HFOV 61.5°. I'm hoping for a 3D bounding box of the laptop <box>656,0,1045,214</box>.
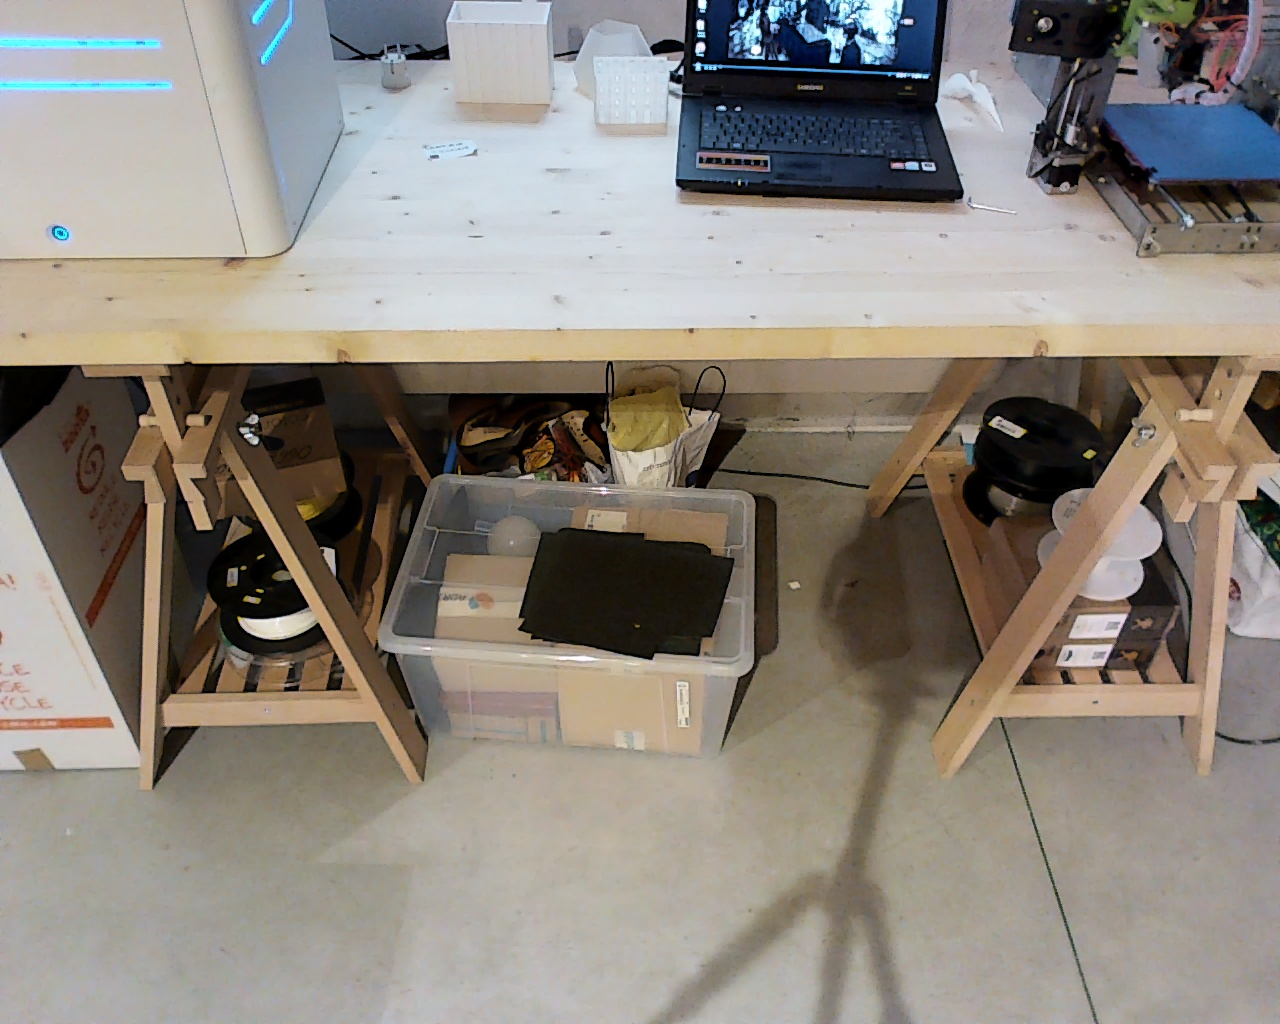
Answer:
[{"bbox_3d":[0.240,-0.630,1.430,0.420,0.260,0.450,2,43,1],"label":"laptop"}]
